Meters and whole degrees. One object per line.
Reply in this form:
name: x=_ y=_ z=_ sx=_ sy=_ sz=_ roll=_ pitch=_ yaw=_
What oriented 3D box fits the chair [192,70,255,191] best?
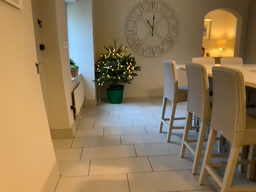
chair: x=0.840 y=0.320 z=1.560 sx=0.500 sy=0.970 sz=0.470 roll=-2 pitch=13 yaw=-6

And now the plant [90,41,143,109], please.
plant: x=-0.260 y=-0.480 z=4.470 sx=0.980 sy=1.280 sz=0.900 roll=-2 pitch=13 yaw=-7

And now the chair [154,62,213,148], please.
chair: x=0.650 y=0.080 z=2.640 sx=0.510 sy=0.960 sz=0.470 roll=-2 pitch=13 yaw=-10
